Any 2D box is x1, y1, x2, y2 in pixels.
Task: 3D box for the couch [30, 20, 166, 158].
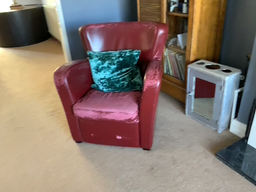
[{"bbox_3d":[-0.120,-0.120,1.760,0.790,0.840,0.760,3,29,13],"label":"couch"}]
